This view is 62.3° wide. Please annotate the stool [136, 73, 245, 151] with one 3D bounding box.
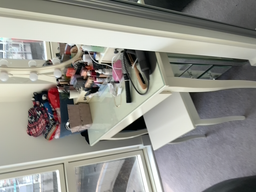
[{"bbox_3d":[0.380,0.110,1.390,0.420,0.450,0.320,-49,49,51],"label":"stool"}]
